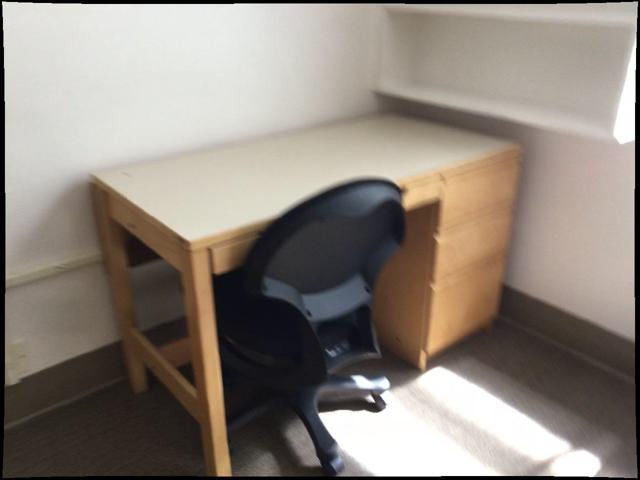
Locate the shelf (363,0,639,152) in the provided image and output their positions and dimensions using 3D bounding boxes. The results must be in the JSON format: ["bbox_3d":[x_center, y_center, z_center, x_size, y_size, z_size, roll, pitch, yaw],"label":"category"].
[{"bbox_3d":[0.639,-1.181,1.690,0.370,1.591,1.060,-20,32,-34],"label":"shelf"}]

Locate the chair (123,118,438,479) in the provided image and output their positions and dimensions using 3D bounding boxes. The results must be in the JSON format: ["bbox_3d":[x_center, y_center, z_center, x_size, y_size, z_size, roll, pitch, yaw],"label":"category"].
[{"bbox_3d":[-0.100,0.170,1.640,0.570,0.841,0.560,-22,33,-37],"label":"chair"}]
